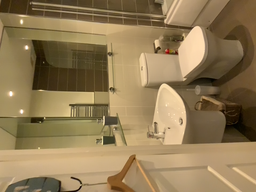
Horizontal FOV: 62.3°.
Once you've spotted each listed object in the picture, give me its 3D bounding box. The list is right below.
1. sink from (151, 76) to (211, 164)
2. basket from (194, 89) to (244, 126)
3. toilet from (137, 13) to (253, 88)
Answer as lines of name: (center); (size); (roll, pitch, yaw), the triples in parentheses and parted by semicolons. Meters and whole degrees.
sink: (0.360, 0.150, 1.610); (0.540, 0.150, 0.450); (-117, 30, -63)
basket: (0.870, 0.100, 2.070); (0.380, 0.240, 0.220); (-122, 35, -67)
toilet: (0.580, -0.390, 2.070); (0.640, 0.820, 0.380); (119, 149, -64)
